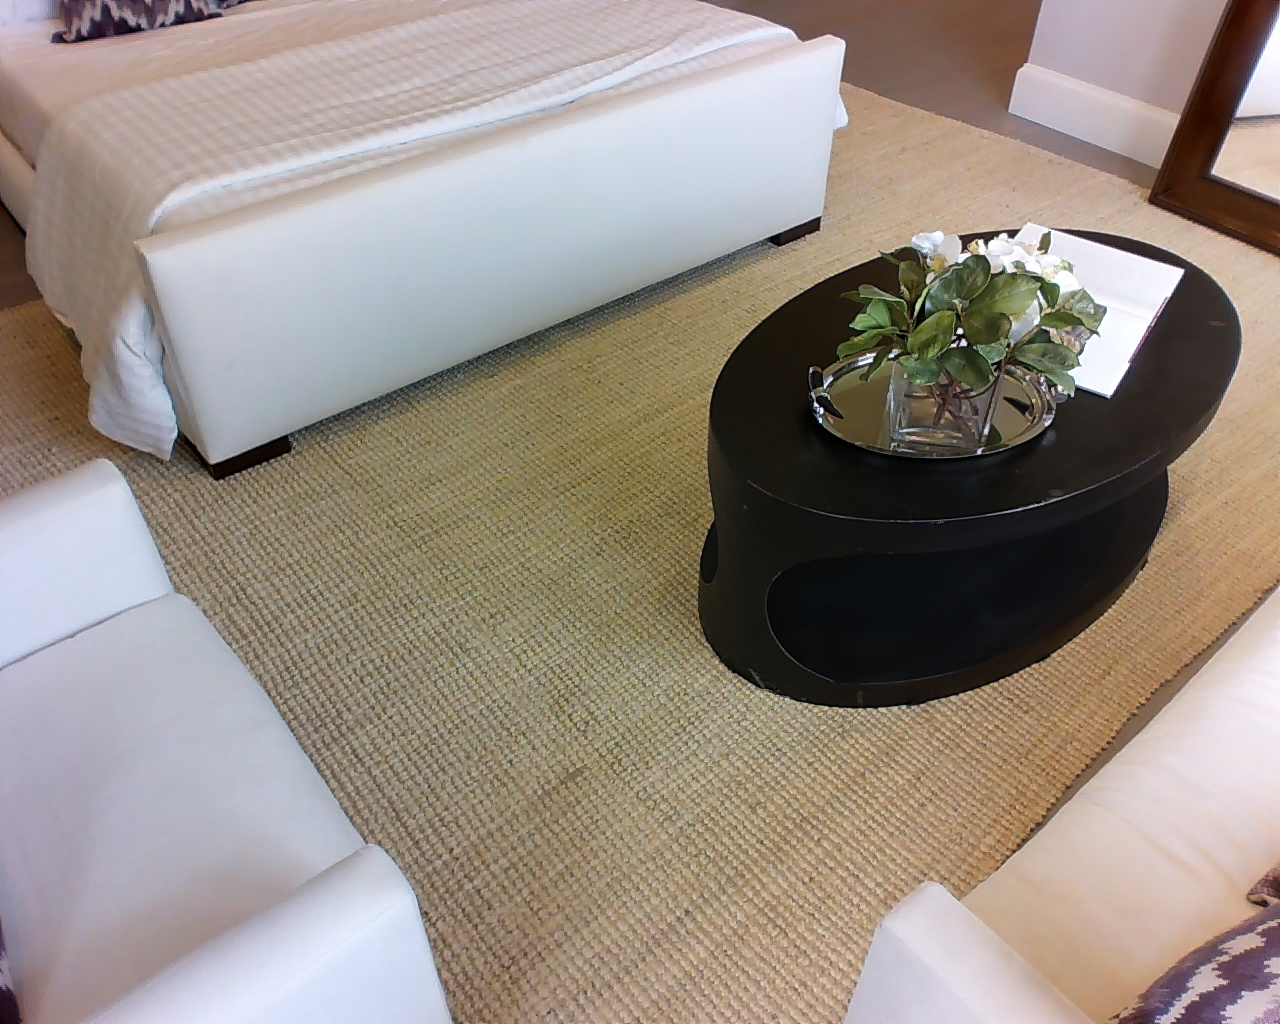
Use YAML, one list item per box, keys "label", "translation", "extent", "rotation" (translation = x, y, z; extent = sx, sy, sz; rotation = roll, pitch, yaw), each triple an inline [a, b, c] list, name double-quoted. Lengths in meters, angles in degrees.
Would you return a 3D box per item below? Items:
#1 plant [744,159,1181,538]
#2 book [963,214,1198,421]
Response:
- label: "plant"
  translation: [0.500, -0.290, 1.760]
  extent: [0.440, 0.320, 0.460]
  rotation: [-28, 49, -29]
- label: "book"
  translation: [0.890, -0.410, 2.140]
  extent: [0.350, 0.050, 0.610]
  rotation: [18, 44, 18]
